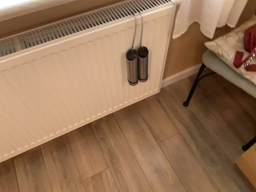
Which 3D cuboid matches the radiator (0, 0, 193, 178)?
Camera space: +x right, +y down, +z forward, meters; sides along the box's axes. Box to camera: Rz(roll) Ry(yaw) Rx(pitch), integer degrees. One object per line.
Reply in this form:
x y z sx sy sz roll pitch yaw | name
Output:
-0.380 -0.020 1.020 1.280 0.710 0.280 -23 59 -15 | radiator
